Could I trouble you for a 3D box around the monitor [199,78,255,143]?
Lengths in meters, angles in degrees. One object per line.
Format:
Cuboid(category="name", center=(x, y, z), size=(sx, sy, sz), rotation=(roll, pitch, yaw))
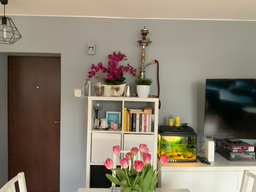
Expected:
Cuboid(category="monitor", center=(1.340, 0.150, 2.270), size=(1.090, 0.680, 0.050), rotation=(0, -7, 9))
